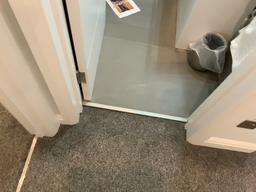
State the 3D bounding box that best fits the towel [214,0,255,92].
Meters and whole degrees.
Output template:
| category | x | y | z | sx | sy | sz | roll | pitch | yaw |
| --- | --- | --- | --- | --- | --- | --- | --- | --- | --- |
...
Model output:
| category | x | y | z | sx | sy | sz | roll | pitch | yaw |
| --- | --- | --- | --- | --- | --- | --- | --- | --- | --- |
| towel | 0.640 | -0.270 | 1.110 | 0.120 | 0.510 | 0.280 | 7 | 62 | -3 |
